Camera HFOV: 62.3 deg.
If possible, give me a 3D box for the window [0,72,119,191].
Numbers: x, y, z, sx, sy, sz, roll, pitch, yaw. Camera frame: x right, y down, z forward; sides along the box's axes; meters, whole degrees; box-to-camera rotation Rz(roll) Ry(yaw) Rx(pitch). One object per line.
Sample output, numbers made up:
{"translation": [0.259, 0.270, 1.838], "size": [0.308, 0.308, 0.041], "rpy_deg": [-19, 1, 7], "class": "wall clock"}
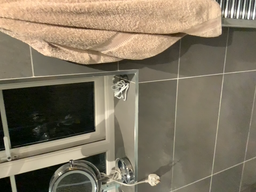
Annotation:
{"translation": [-0.500, 0.340, 0.930], "size": [0.060, 0.980, 0.820], "rpy_deg": [24, 118, 59], "class": "window"}
